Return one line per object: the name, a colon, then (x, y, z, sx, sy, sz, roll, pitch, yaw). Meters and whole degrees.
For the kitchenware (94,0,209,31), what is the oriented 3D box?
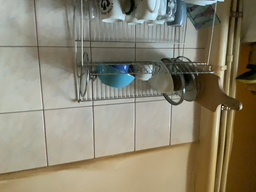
kitchenware: (0.090, -0.330, 0.820, 0.400, 0.120, 0.180, -5, -167, -24)
